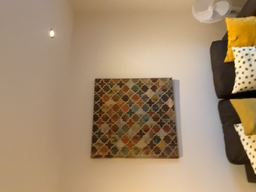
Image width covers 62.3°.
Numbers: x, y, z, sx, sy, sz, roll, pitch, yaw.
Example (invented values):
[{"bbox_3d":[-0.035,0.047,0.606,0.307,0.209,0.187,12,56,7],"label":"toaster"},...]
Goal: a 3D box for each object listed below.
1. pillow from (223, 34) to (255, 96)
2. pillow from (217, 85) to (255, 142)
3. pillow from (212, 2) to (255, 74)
[{"bbox_3d":[1.220,-0.270,2.010,0.200,0.410,0.480,-137,64,-80],"label":"pillow"},{"bbox_3d":[1.140,0.120,1.880,0.640,0.420,0.210,-89,-1,-65],"label":"pillow"},{"bbox_3d":[1.190,-0.550,2.090,0.490,0.470,0.200,-62,14,8],"label":"pillow"}]
